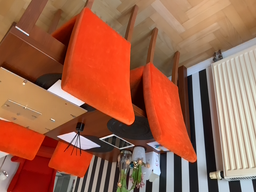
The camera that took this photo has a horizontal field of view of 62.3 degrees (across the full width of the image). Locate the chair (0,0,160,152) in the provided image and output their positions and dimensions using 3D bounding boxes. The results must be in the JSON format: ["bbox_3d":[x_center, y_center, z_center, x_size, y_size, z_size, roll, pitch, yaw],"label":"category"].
[{"bbox_3d":[-0.220,-0.260,1.280,0.610,0.970,0.500,-24,135,38],"label":"chair"}]

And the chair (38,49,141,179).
[{"bbox_3d":[-0.300,0.180,1.960,0.590,0.970,0.480,-22,136,37],"label":"chair"}]

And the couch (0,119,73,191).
[{"bbox_3d":[-1.560,1.140,3.630,0.800,0.990,1.010,19,145,-16],"label":"couch"}]

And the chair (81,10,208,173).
[{"bbox_3d":[0.140,-0.010,1.580,0.620,0.960,0.480,-24,135,38],"label":"chair"}]
